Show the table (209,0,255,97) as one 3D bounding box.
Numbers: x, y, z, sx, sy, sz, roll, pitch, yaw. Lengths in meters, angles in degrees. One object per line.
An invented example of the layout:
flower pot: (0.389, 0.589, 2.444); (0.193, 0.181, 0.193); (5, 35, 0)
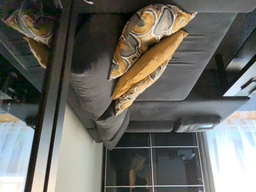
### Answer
table: (1.150, -0.380, 1.740); (0.580, 0.450, 0.910); (0, 156, 0)

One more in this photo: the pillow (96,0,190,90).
pillow: (0.070, -0.250, 1.260); (0.320, 0.370, 0.460); (2, 174, -41)

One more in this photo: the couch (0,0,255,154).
couch: (0.060, -0.070, 1.960); (1.100, 0.810, 2.450); (0, 156, 1)
